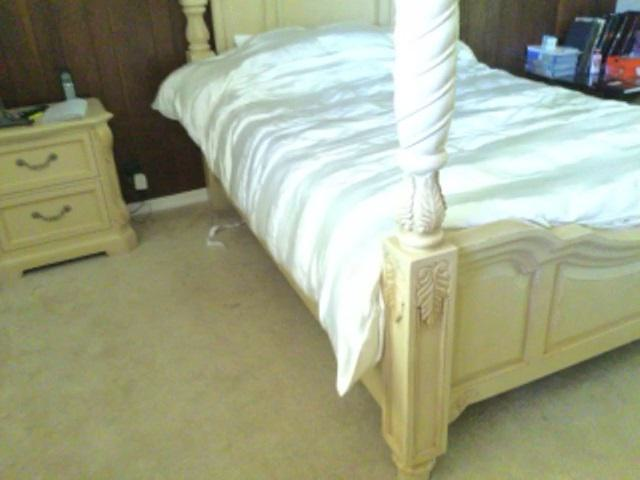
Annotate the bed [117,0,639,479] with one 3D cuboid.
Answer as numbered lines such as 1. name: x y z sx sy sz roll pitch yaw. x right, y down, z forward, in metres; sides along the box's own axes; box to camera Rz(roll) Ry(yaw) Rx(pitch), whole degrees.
1. bed: 0.430 -0.940 2.210 2.050 2.260 2.330 -16 29 -19
